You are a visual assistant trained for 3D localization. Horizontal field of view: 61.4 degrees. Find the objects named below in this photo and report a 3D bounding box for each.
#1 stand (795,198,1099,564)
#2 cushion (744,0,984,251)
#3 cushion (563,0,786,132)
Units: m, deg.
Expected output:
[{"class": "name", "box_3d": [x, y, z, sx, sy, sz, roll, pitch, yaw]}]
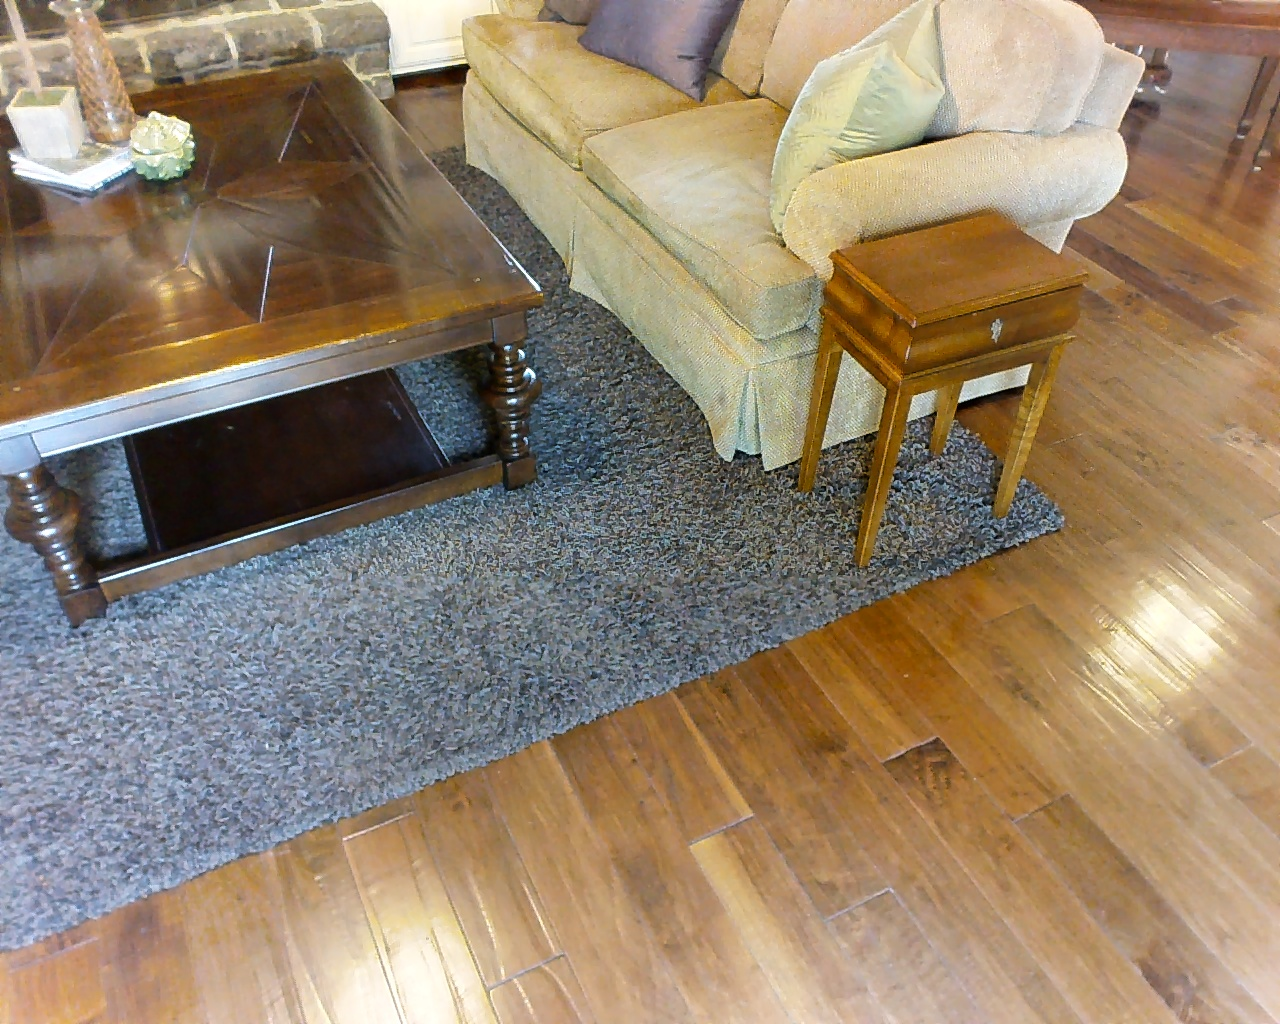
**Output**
[{"class": "stand", "box_3d": [0.590, -0.260, 2.190, 0.380, 0.600, 0.310, -16, 44, -17]}, {"class": "cushion", "box_3d": [0.500, -0.880, 2.380, 0.270, 0.400, 0.460, 31, 37, 6]}, {"class": "cushion", "box_3d": [0.100, -1.410, 3.000, 0.490, 0.470, 0.170, 45, 36, 15]}]
